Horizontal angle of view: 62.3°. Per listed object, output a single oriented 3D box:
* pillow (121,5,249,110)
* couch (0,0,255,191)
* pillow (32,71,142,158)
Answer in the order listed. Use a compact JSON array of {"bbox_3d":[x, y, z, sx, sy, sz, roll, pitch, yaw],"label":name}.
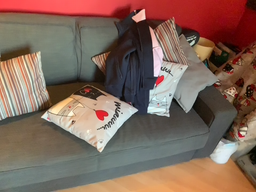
[{"bbox_3d":[0.350,-0.320,1.630,0.590,0.480,0.680,-3,40,-18],"label":"pillow"},{"bbox_3d":[-0.320,-0.010,1.480,2.050,0.910,0.960,-4,40,-20],"label":"couch"},{"bbox_3d":[-0.230,0.070,1.280,0.480,0.120,0.420,27,40,19],"label":"pillow"}]
